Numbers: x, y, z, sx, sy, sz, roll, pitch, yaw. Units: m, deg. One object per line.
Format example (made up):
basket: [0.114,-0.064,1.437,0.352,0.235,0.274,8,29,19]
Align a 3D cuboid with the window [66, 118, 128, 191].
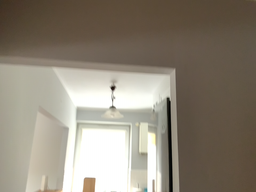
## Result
window: [-0.630,1.350,4.510,1.180,1.720,0.130,4,-16,-6]
